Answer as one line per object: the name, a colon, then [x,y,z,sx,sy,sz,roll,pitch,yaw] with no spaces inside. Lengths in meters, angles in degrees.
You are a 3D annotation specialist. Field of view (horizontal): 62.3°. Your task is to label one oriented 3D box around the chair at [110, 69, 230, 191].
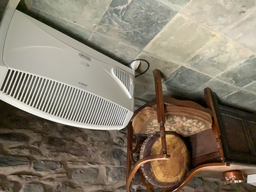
chair: [0.250,0.340,1.570,0.560,0.780,0.550,15,148,-28]
